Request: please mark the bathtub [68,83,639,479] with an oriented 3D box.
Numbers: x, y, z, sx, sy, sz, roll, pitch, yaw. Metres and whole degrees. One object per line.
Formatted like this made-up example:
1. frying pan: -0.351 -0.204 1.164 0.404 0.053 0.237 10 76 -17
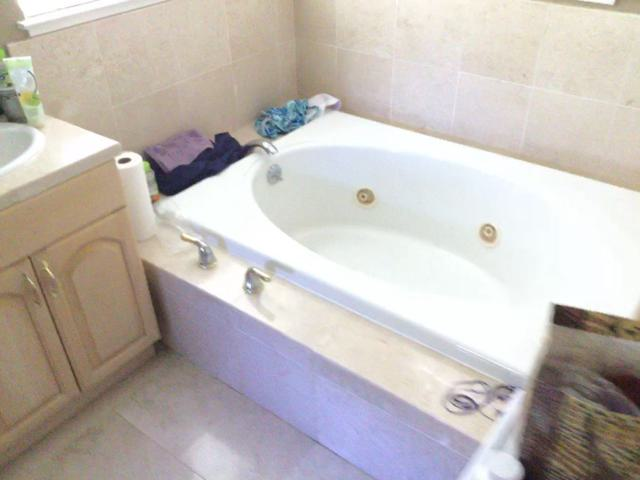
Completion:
1. bathtub: 0.320 0.060 2.090 2.020 0.530 1.330 23 40 32
